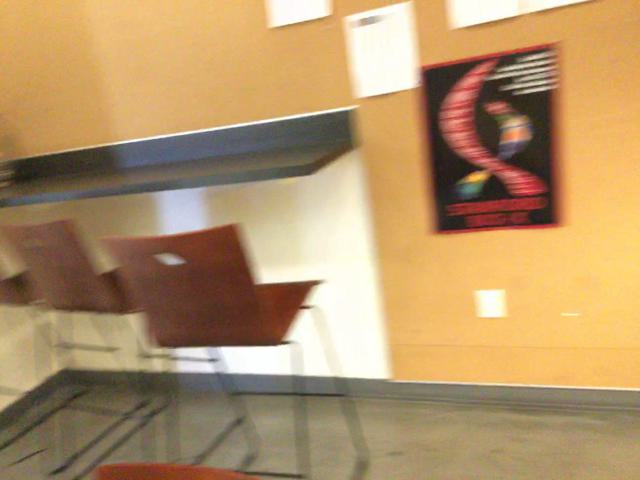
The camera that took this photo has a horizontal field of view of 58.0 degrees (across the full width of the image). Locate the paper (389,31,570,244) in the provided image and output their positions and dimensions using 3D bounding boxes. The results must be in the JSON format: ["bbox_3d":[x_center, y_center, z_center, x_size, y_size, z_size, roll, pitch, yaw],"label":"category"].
[{"bbox_3d":[0.540,-0.320,1.960,0.470,0.620,0.090,-9,16,29],"label":"paper"}]

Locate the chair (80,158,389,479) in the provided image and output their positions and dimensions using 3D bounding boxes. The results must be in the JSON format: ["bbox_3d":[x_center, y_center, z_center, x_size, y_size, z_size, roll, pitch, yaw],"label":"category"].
[{"bbox_3d":[-0.200,0.330,1.780,0.470,0.990,0.520,-9,15,26],"label":"chair"}]
